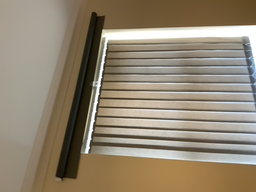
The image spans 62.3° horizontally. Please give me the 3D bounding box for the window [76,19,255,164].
[{"bbox_3d":[0.360,-0.130,1.610,0.020,1.330,1.180,75,-161,-63],"label":"window"}]
